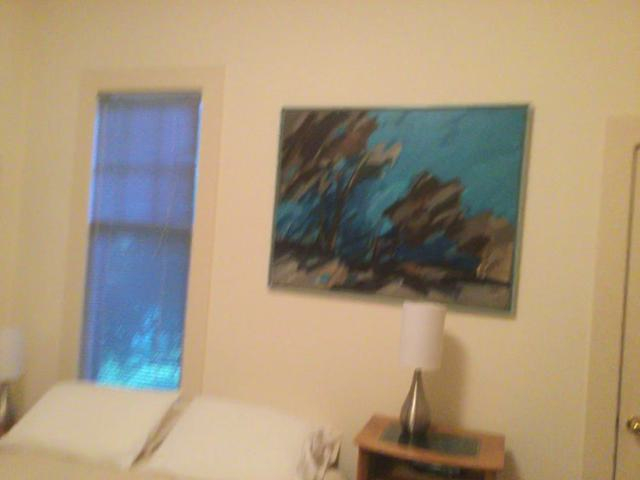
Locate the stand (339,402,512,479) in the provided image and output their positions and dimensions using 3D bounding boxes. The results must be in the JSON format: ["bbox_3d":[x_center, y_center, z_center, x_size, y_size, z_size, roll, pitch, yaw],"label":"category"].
[{"bbox_3d":[0.410,1.120,2.280,0.590,0.750,0.490,5,-1,19],"label":"stand"}]

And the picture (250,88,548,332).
[{"bbox_3d":[0.310,-0.170,2.560,1.230,0.980,0.090,5,-1,19],"label":"picture"}]
